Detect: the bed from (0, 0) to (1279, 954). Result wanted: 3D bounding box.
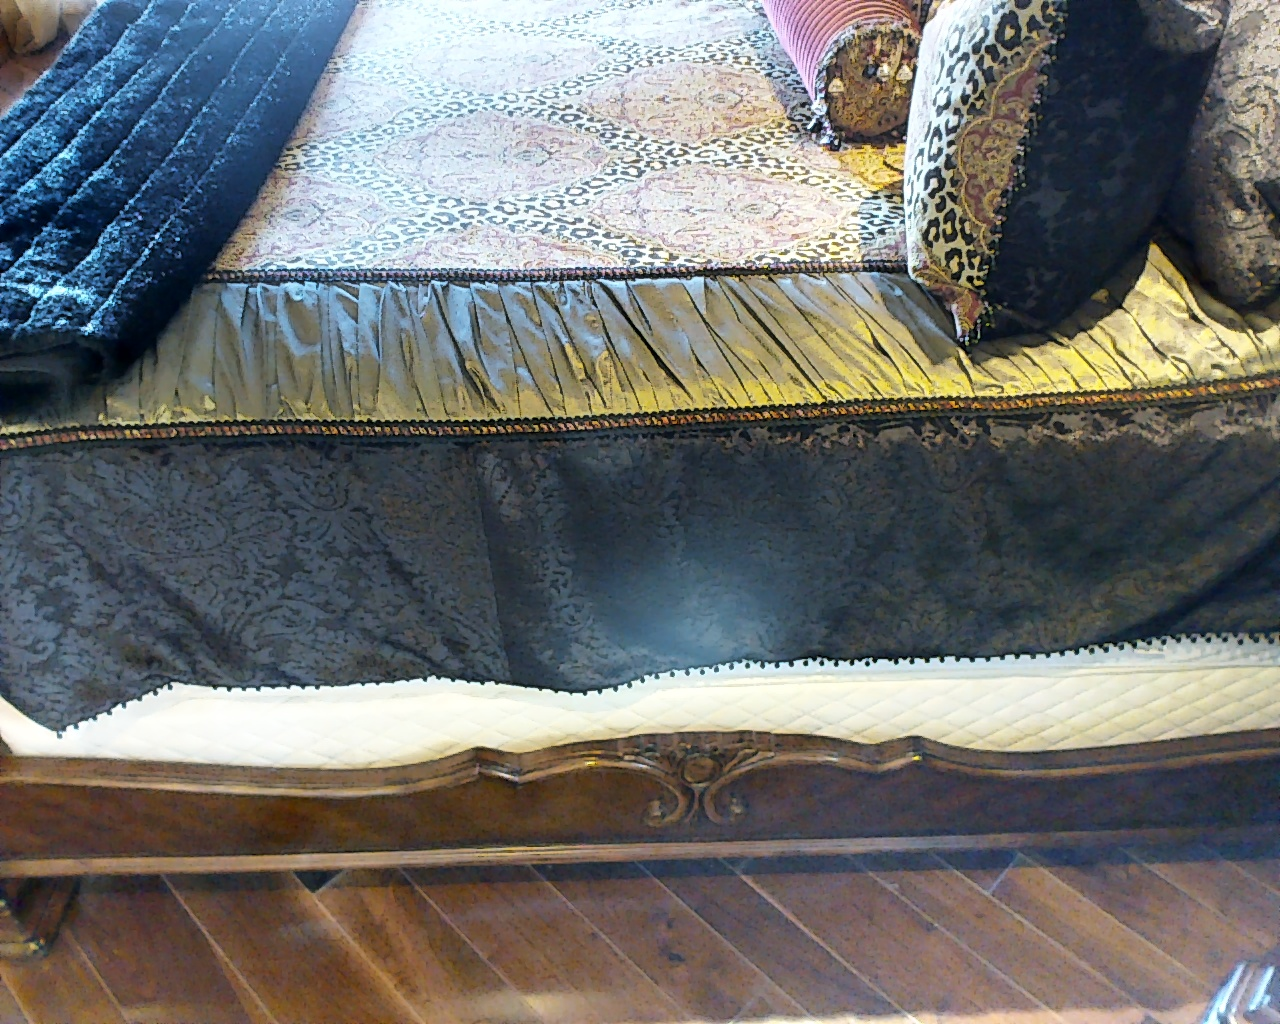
[{"bbox_3d":[0.080,-0.430,2.120,2.170,1.070,2.140,0,42,-1],"label":"bed"}]
